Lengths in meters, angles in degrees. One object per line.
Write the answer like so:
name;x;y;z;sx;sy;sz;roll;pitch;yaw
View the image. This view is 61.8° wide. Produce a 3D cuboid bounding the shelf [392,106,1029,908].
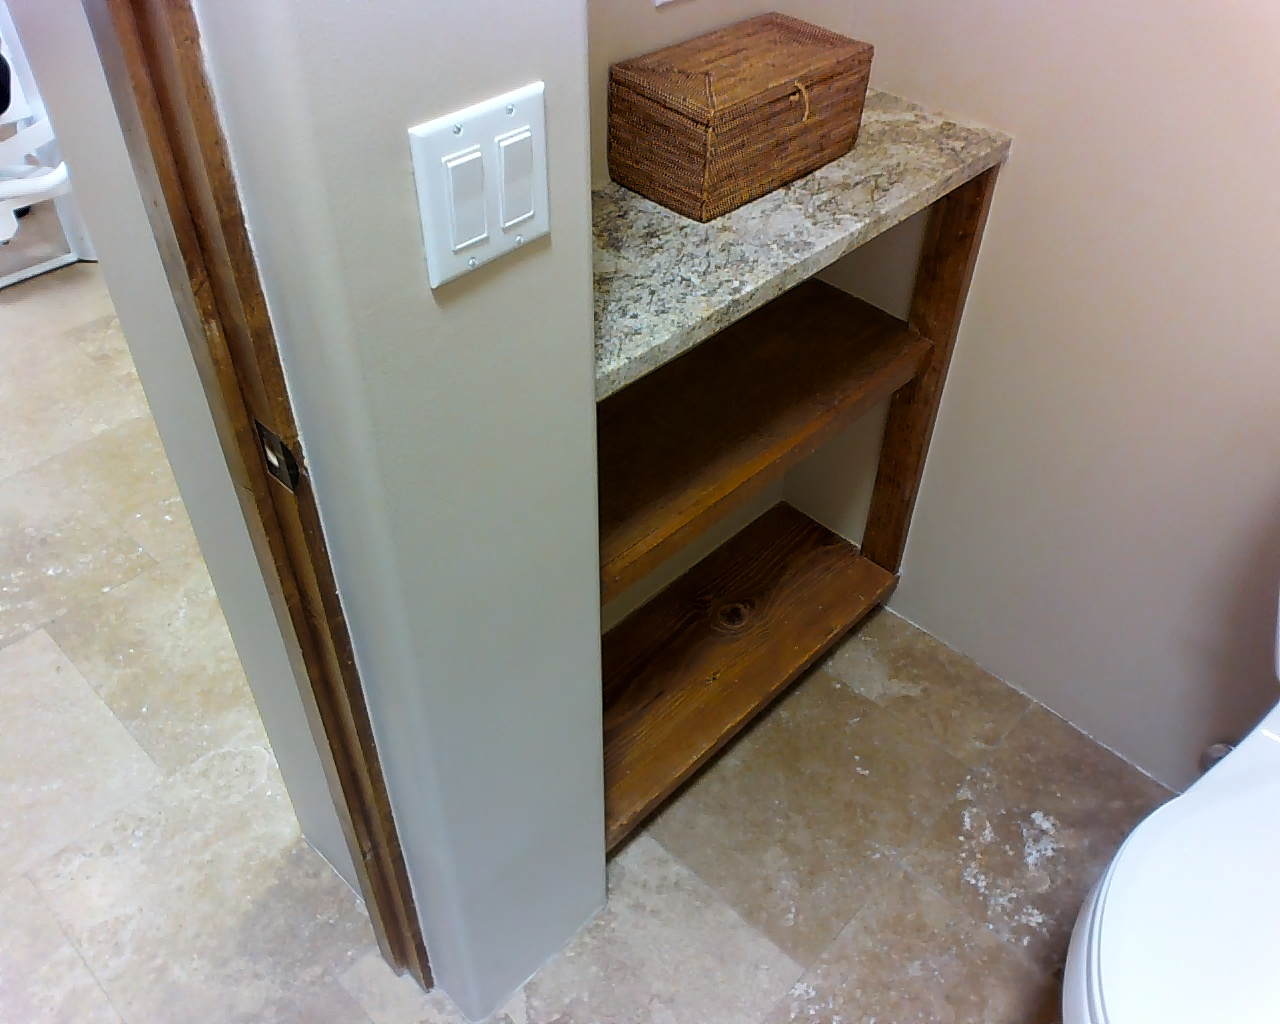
shelf;0.120;-0.010;1.550;0.310;0.860;0.790;33;51;31
